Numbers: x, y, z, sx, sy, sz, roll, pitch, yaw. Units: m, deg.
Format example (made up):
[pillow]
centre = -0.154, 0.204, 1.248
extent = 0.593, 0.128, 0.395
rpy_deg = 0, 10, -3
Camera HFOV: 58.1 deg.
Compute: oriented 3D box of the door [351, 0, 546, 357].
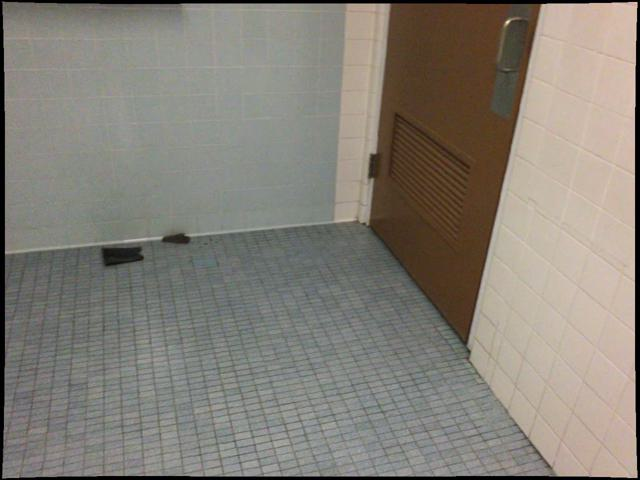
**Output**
[door]
centre = 0.379, -0.421, 2.060
extent = 0.080, 1.423, 0.860
rpy_deg = -6, 29, -19
